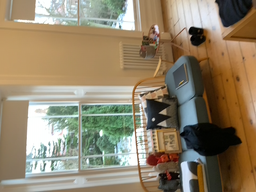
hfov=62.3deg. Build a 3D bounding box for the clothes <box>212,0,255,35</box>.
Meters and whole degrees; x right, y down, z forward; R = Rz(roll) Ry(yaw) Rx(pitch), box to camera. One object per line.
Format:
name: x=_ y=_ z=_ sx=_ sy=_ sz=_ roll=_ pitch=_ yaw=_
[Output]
clothes: x=0.760 y=-0.670 z=1.510 sx=0.350 sy=0.070 sz=0.320 roll=133 pitch=135 yaw=-69
